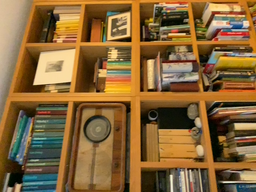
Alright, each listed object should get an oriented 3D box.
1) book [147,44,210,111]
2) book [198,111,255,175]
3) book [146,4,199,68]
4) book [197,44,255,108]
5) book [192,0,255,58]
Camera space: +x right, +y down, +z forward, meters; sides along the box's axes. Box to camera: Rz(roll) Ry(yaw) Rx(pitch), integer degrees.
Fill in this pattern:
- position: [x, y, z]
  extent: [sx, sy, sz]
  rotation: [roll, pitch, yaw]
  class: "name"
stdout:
- position: [0.320, -0.120, 1.500]
  extent: [0.350, 0.340, 0.340]
  rotation: [89, -179, -65]
  class: "book"
- position: [0.670, 0.300, 1.310]
  extent: [0.270, 0.350, 0.340]
  rotation: [89, -178, -66]
  class: "book"
- position: [0.320, -0.460, 1.670]
  extent: [0.360, 0.320, 0.320]
  rotation: [89, -179, -62]
  class: "book"
- position: [0.710, -0.130, 1.490]
  extent: [0.290, 0.330, 0.360]
  rotation: [88, -178, -69]
  class: "book"
- position: [0.700, -0.500, 1.600]
  extent: [0.250, 0.330, 0.330]
  rotation: [89, -179, -65]
  class: "book"
